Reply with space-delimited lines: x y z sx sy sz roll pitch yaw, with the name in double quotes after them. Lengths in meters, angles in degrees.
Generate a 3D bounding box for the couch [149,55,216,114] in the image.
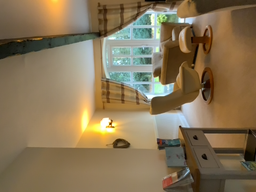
0.860 -0.170 3.640 0.710 0.950 0.810 83 -172 -74 "couch"

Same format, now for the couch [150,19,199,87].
0.960 -0.980 4.810 1.020 0.830 1.170 89 -177 -45 "couch"

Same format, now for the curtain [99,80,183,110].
0.340 -0.030 5.970 0.250 2.280 0.760 -81 -9 -74 "curtain"
